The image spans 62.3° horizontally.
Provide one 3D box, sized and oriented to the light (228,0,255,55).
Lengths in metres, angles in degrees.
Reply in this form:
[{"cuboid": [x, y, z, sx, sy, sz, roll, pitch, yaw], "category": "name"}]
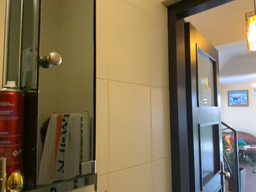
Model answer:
[{"cuboid": [0.980, -0.650, 1.730, 0.230, 0.220, 0.590, -12, 96, -51], "category": "light"}]
